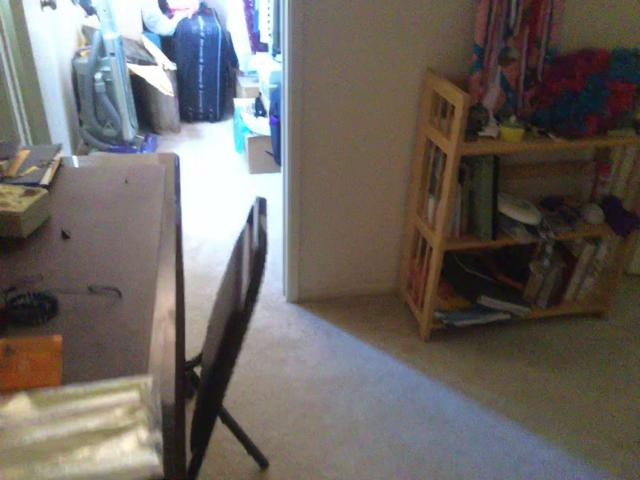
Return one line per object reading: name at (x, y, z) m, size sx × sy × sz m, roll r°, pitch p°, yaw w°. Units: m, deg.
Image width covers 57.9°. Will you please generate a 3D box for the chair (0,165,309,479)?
chair at (-0.340, 0.300, 1.020) m, size 0.550 × 0.690 × 0.450 m, roll -8°, pitch 31°, yaw -13°
